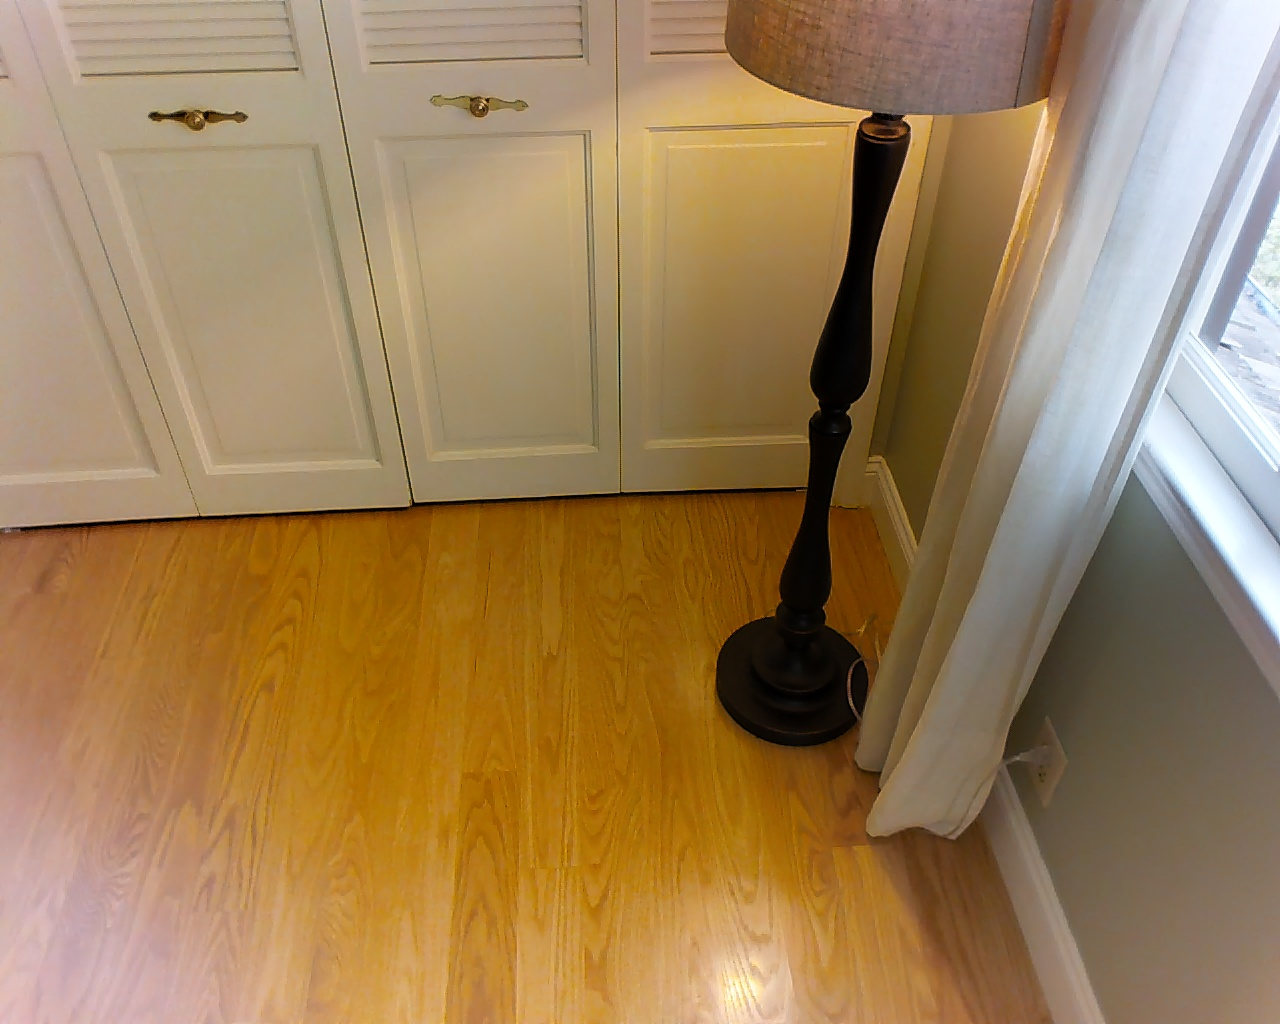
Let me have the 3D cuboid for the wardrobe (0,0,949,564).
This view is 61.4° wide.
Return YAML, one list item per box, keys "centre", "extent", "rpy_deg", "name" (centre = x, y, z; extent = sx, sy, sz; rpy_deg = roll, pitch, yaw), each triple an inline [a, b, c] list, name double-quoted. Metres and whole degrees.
- centre: [-0.530, -0.740, 1.650]
  extent: [2.010, 2.090, 0.100]
  rpy_deg: [-3, 43, -4]
  name: "wardrobe"

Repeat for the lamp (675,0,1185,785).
- centre: [0.300, -0.210, 1.560]
  extent: [0.410, 1.450, 0.420]
  rpy_deg: [-3, 43, -4]
  name: "lamp"
